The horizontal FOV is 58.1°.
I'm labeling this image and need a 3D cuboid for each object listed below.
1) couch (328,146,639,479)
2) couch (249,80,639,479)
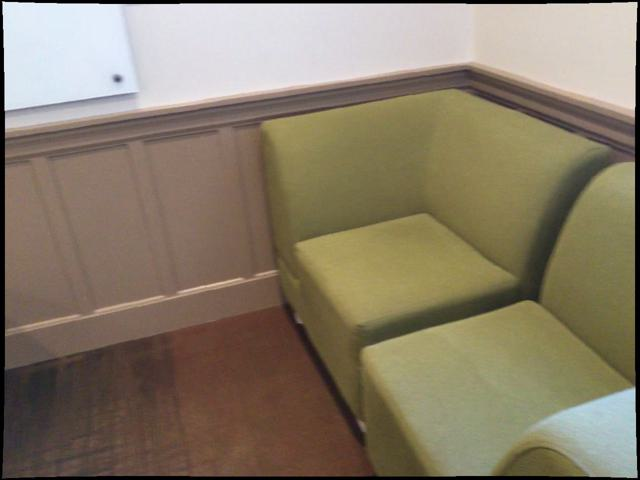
[{"bbox_3d":[0.588,0.371,1.220,0.848,0.782,0.850,-13,29,-14],"label":"couch"},{"bbox_3d":[0.339,0.020,1.900,0.858,0.792,0.920,-13,29,-14],"label":"couch"}]
